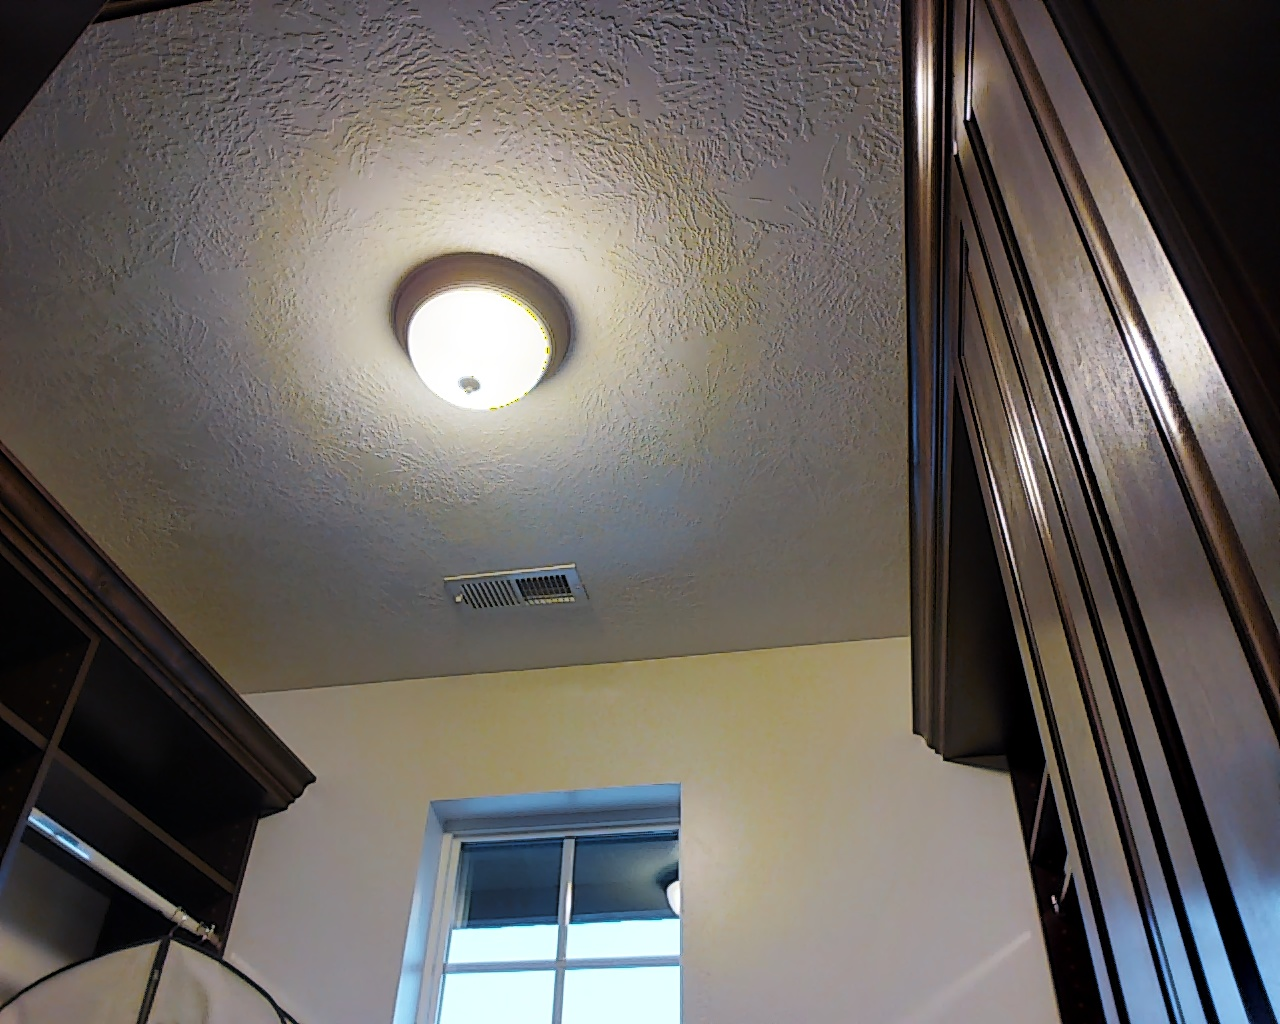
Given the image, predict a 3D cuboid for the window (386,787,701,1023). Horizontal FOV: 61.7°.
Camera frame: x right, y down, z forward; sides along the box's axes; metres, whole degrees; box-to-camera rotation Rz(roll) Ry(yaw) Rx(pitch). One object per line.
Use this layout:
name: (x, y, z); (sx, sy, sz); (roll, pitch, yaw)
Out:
window: (-0.190, 1.170, 2.070); (0.580, 1.200, 0.280); (-6, -41, 10)
